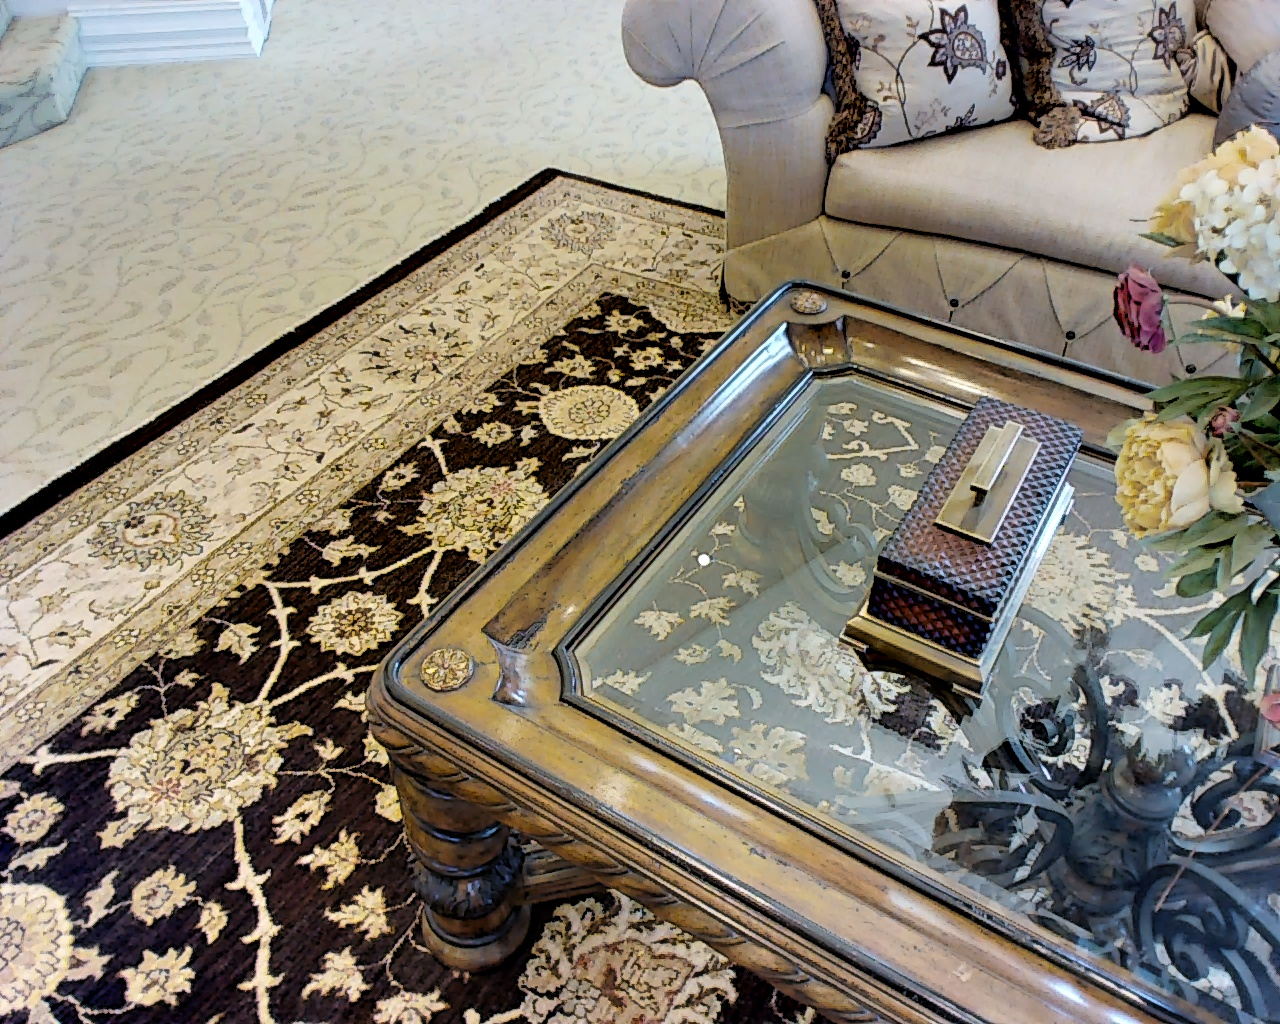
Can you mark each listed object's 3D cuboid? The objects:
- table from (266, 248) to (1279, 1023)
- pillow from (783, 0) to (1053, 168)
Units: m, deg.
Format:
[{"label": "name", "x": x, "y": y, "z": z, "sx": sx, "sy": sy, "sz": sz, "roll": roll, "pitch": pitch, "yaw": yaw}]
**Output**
[{"label": "table", "x": 0.610, "y": 0.370, "z": 1.330, "sx": 1.620, "sy": 0.570, "sz": 1.150, "roll": 22, "pitch": 46, "yaw": 22}, {"label": "pillow", "x": 0.600, "y": -1.020, "z": 2.360, "sx": 0.450, "sy": 0.350, "sz": 0.300, "roll": -12, "pitch": 43, "yaw": -13}]
